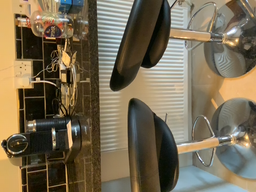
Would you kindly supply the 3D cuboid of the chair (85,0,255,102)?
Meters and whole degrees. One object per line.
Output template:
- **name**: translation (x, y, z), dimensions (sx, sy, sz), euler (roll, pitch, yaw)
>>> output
- **chair**: translation (0.250, -0.270, 1.080), dimensions (0.560, 0.810, 0.510), euler (-169, 78, -65)
